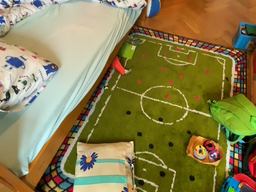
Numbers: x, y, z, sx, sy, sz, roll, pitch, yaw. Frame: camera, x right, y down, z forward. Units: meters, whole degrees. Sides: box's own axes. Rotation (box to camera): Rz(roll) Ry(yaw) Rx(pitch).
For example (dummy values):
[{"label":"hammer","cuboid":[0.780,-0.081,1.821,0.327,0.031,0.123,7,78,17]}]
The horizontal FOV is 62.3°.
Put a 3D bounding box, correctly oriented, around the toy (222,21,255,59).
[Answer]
[{"label":"toy","cuboid":[1.080,-0.530,1.990,0.310,0.140,0.280,19,55,10]}]
